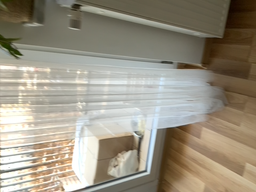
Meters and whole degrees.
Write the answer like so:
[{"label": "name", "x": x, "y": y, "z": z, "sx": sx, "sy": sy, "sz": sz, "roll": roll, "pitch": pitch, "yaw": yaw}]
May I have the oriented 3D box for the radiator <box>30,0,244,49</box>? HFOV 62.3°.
[{"label": "radiator", "x": 0.170, "y": -0.600, "z": 0.970, "sx": 0.200, "sy": 1.080, "sz": 0.610, "roll": 27, "pitch": 112, "yaw": 51}]
